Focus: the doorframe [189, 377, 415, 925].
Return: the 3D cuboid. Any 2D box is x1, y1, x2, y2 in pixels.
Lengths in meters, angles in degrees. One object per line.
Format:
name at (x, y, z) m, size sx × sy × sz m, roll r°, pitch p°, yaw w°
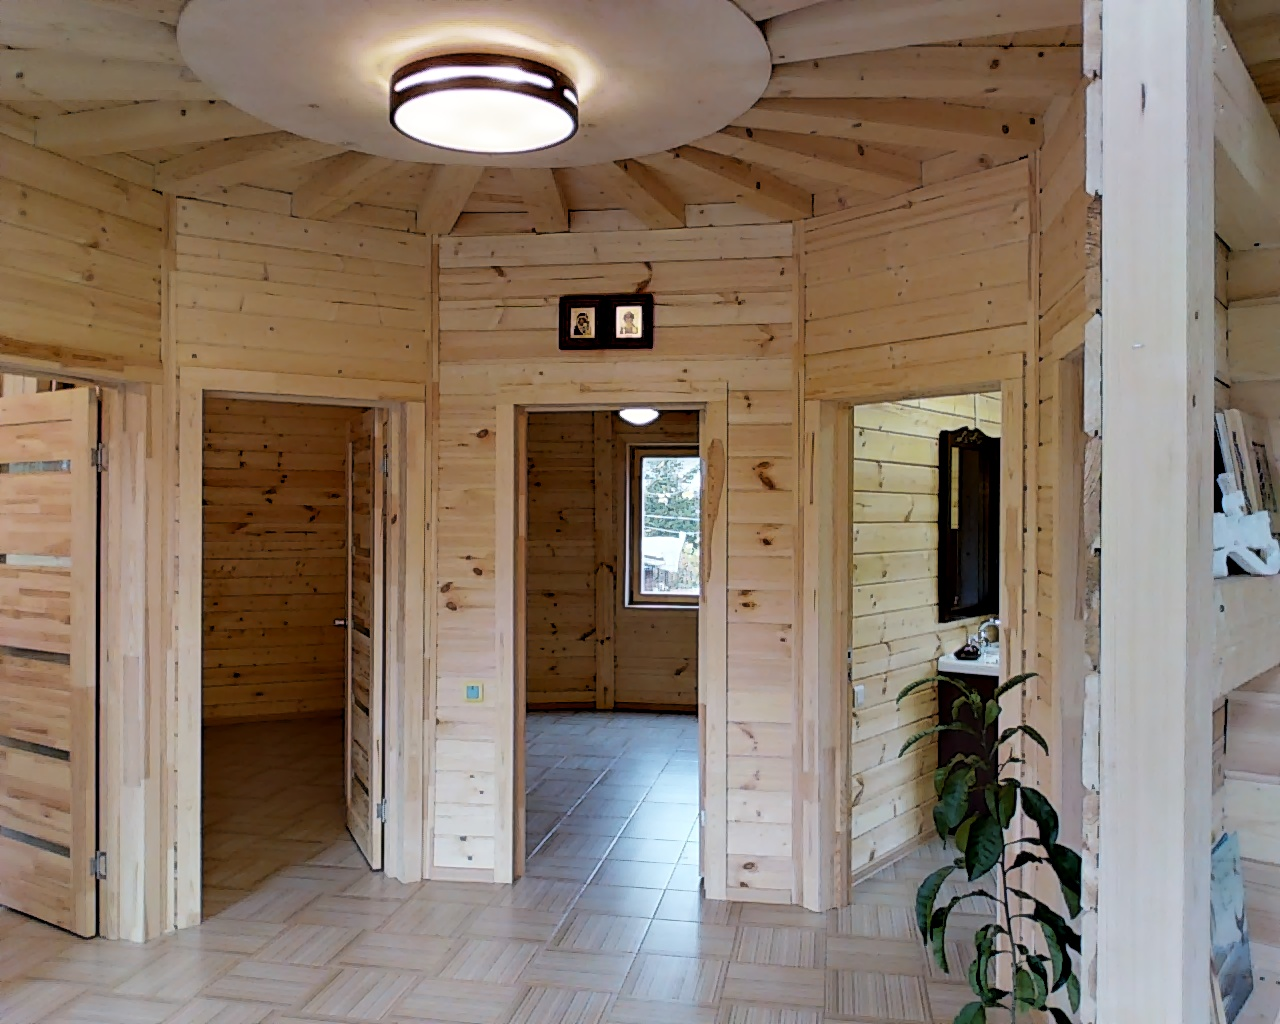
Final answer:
doorframe at (-1.370, 0.530, 4.410) m, size 0.850 × 2.081 × 0.190 m, roll 0°, pitch 0°, yaw -36°
